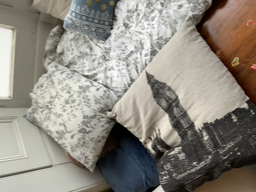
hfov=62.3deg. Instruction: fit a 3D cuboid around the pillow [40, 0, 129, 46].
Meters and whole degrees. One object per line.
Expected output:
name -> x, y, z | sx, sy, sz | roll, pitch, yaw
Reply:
pillow -> -0.200, -0.560, 1.180 | 0.250, 0.260, 0.460 | 26, 79, 46
